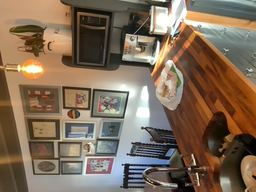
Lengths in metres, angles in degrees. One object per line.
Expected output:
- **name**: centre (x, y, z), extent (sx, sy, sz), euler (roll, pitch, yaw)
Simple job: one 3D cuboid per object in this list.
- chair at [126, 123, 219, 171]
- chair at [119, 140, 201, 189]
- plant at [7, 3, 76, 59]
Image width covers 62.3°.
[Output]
- **chair**: centre (0.540, 0.680, 2.750), extent (0.440, 1.050, 0.530), euler (119, 152, -66)
- **chair**: centre (0.430, 1.020, 3.170), extent (0.530, 1.050, 0.440), euler (-99, 17, -49)
- **plant**: centre (-0.790, -0.610, 2.030), extent (0.210, 0.550, 0.400), euler (-99, 17, -49)
